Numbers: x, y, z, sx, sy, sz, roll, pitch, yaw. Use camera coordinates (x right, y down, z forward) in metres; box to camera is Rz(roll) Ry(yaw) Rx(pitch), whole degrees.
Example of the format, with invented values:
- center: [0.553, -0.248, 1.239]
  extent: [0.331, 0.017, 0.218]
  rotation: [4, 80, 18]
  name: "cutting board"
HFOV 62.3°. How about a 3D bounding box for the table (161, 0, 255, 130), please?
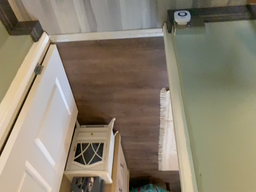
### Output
- center: [0.480, -0.190, 1.060]
  extent: [0.580, 0.520, 0.480]
  rotation: [-2, 140, 5]
  name: "table"
